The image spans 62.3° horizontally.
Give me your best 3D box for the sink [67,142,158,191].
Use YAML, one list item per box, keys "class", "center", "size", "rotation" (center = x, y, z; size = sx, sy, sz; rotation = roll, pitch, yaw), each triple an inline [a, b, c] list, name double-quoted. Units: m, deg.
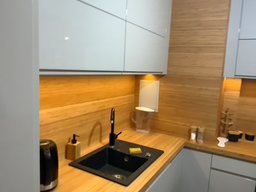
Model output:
- class: "sink"
  center: [-0.090, 0.490, 1.420]
  size: [0.440, 0.160, 0.420]
  rotation: [8, 9, 28]
